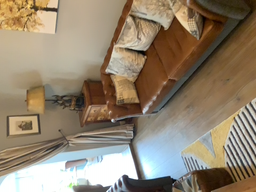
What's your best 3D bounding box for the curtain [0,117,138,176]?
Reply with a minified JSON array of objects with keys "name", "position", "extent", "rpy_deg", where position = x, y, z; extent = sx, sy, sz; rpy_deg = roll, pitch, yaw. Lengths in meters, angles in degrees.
[{"name":"curtain","position":[-0.930,0.730,3.330],"extent":[0.180,2.190,0.670],"rpy_deg":[121,140,-48]}]
